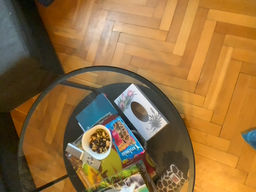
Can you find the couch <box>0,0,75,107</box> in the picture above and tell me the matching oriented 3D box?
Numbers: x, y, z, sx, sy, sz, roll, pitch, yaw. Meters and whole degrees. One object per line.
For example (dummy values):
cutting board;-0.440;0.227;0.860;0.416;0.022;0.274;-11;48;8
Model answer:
couch;-0.780;-0.370;1.320;0.510;0.430;0.720;-28;79;13
